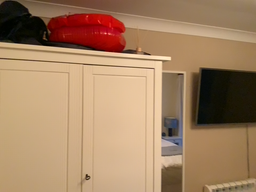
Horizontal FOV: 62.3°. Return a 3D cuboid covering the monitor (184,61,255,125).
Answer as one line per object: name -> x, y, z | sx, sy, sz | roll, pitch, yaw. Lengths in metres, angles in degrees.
monitor -> 1.080, -0.020, 2.230 | 1.020, 0.600, 0.150 | 1, -2, -18
